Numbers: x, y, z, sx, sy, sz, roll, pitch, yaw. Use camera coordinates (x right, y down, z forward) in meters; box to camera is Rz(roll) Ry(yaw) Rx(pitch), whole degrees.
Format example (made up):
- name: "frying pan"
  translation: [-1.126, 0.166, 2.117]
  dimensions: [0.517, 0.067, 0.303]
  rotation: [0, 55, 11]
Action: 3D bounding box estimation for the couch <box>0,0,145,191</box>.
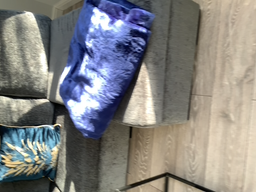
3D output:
- name: "couch"
  translation: [-0.580, 0.460, 1.650]
  dimensions: [0.990, 0.800, 2.160]
  rotation: [6, 93, 48]
